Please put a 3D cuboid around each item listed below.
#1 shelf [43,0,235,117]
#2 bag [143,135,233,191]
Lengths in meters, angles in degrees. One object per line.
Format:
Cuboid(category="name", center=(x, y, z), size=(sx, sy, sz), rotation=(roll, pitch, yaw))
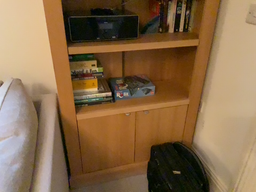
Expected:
Cuboid(category="shelf", center=(0.060, -0.640, 1.080), size=(0.940, 1.440, 0.350), rotation=(-6, 30, -14))
Cuboid(category="bag", center=(0.320, 0.520, 1.290), size=(0.310, 0.310, 0.430), rotation=(-6, 30, -14))
